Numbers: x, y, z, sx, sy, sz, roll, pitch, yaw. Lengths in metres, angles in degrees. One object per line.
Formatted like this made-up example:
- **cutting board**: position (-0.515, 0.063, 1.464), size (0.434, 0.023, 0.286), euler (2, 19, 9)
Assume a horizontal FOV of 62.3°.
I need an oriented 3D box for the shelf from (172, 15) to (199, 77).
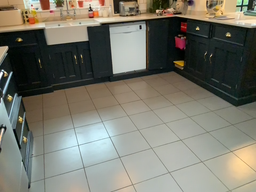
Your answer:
- **shelf**: position (0.890, -0.770, 3.330), size (0.240, 0.900, 0.220), euler (-10, 28, -16)
